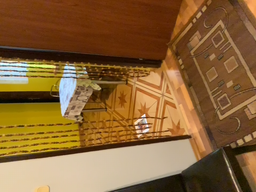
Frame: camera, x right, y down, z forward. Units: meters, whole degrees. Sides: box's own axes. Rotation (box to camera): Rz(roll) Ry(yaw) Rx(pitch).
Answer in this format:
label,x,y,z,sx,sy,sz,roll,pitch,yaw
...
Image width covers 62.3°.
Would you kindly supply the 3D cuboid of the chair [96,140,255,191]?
label,x,y,z,sx,sy,sz,roll,pitch,yaw
chair,0.390,0.620,1.260,0.660,0.940,0.450,-50,47,50
